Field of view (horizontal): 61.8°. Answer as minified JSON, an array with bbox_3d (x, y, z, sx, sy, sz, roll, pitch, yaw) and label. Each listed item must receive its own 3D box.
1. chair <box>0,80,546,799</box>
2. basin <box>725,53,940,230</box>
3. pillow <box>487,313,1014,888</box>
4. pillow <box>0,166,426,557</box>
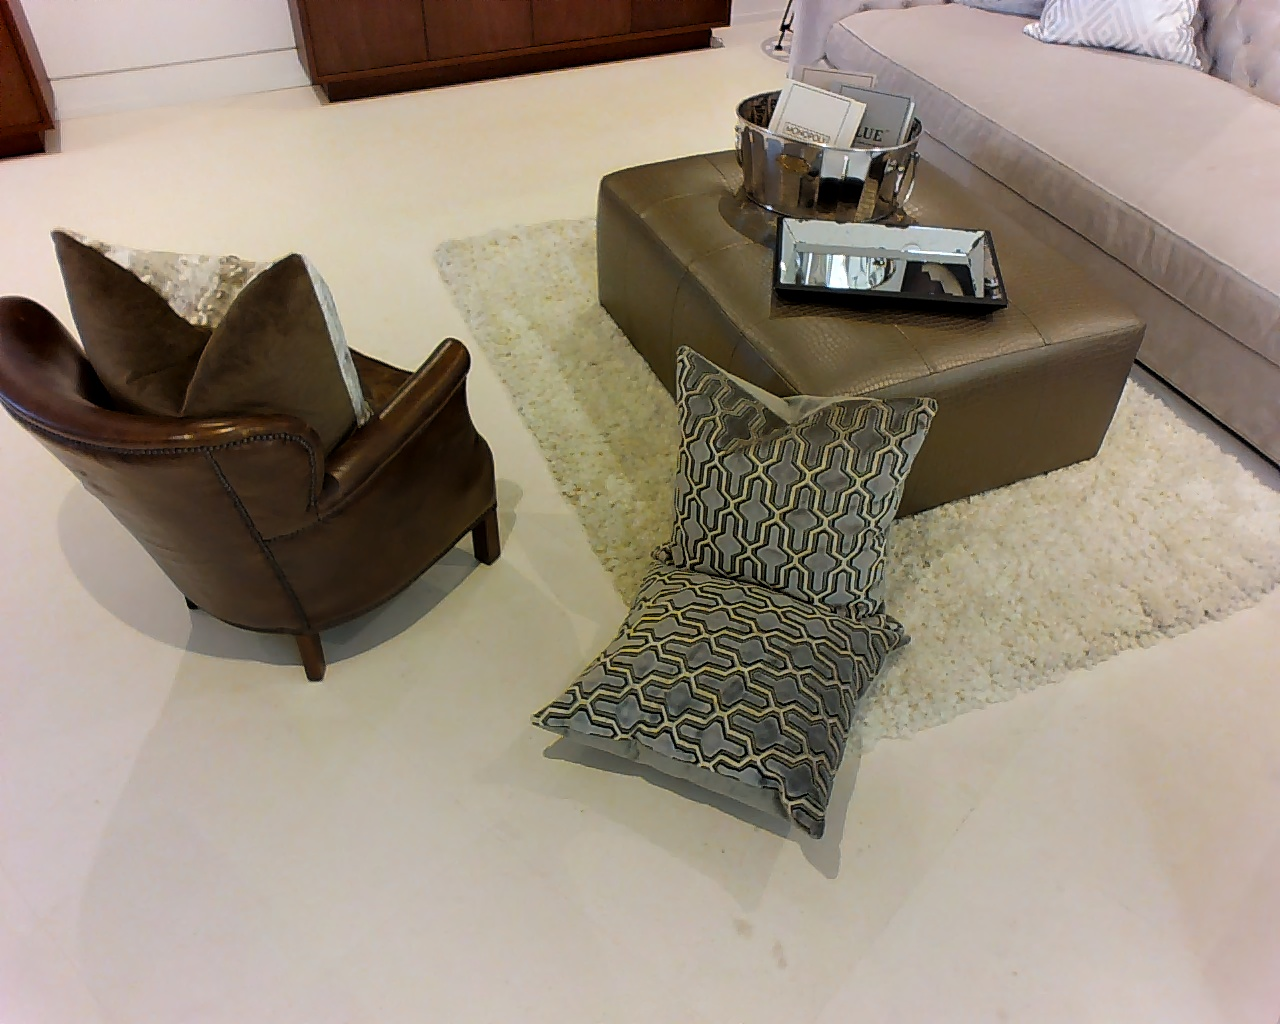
[{"bbox_3d":[-0.700,-0.160,1.970,0.690,0.890,0.760,22,46,23],"label":"chair"},{"bbox_3d":[0.460,-0.920,2.630,0.340,0.240,0.370,-22,46,-23],"label":"basin"},{"bbox_3d":[0.220,0.110,1.960,0.620,0.500,0.770,20,46,21],"label":"pillow"},{"bbox_3d":[-0.690,-0.260,1.810,0.480,0.460,0.400,8,42,9],"label":"pillow"}]
